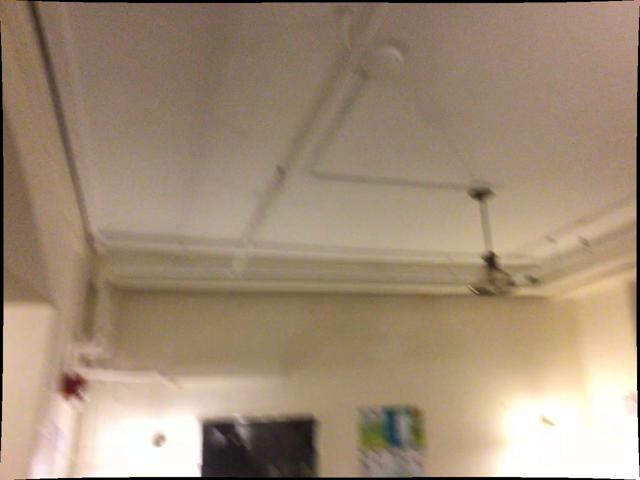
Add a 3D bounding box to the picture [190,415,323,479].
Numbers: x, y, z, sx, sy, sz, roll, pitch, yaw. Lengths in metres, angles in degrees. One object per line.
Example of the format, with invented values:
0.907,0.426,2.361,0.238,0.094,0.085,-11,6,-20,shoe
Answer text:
-0.440,1.571,4.050,0.919,0.610,0.090,2,-21,-15,picture
